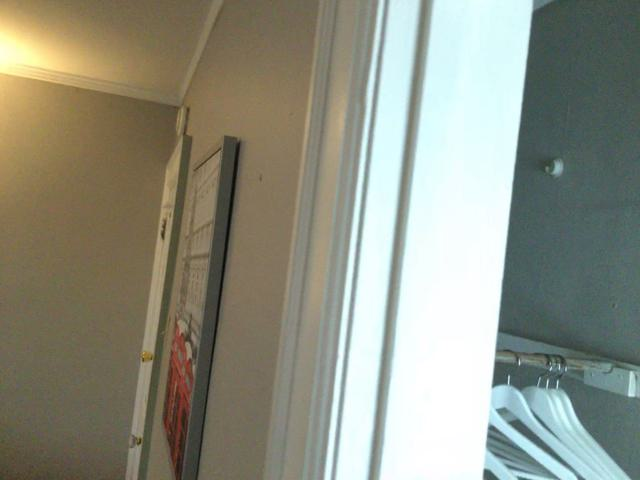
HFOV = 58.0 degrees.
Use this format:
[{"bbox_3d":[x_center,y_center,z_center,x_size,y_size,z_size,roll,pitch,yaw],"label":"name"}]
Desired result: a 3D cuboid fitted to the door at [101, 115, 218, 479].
[{"bbox_3d":[-0.810,0.610,2.630,0.130,2.160,1.050,11,-5,-20],"label":"door"}]
